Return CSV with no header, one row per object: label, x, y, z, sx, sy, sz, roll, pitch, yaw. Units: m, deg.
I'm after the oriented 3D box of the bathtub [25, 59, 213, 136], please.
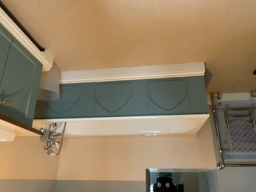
bathtub,-0.070,0.090,2.310,1.660,0.510,0.820,-3,159,8
